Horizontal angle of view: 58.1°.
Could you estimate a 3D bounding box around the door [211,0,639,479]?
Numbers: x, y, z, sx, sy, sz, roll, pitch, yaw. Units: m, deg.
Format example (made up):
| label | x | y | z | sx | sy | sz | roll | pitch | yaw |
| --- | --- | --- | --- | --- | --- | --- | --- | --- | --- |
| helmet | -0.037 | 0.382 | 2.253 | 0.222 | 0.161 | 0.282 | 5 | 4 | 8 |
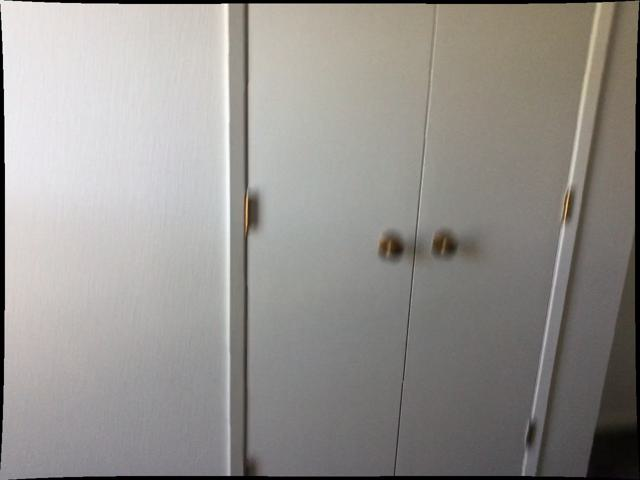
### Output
| label | x | y | z | sx | sy | sz | roll | pitch | yaw |
| --- | --- | --- | --- | --- | --- | --- | --- | --- | --- |
| door | 0.250 | -0.100 | 1.520 | 1.038 | 2.093 | 0.160 | -1 | 19 | -15 |
